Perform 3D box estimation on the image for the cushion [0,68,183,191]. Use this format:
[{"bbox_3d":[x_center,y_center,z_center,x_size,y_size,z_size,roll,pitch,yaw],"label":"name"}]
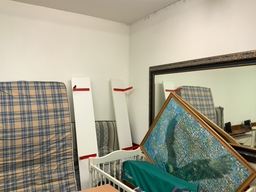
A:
[{"bbox_3d":[-0.490,0.640,2.160,2.040,1.690,0.750,0,2,-29],"label":"cushion"}]
